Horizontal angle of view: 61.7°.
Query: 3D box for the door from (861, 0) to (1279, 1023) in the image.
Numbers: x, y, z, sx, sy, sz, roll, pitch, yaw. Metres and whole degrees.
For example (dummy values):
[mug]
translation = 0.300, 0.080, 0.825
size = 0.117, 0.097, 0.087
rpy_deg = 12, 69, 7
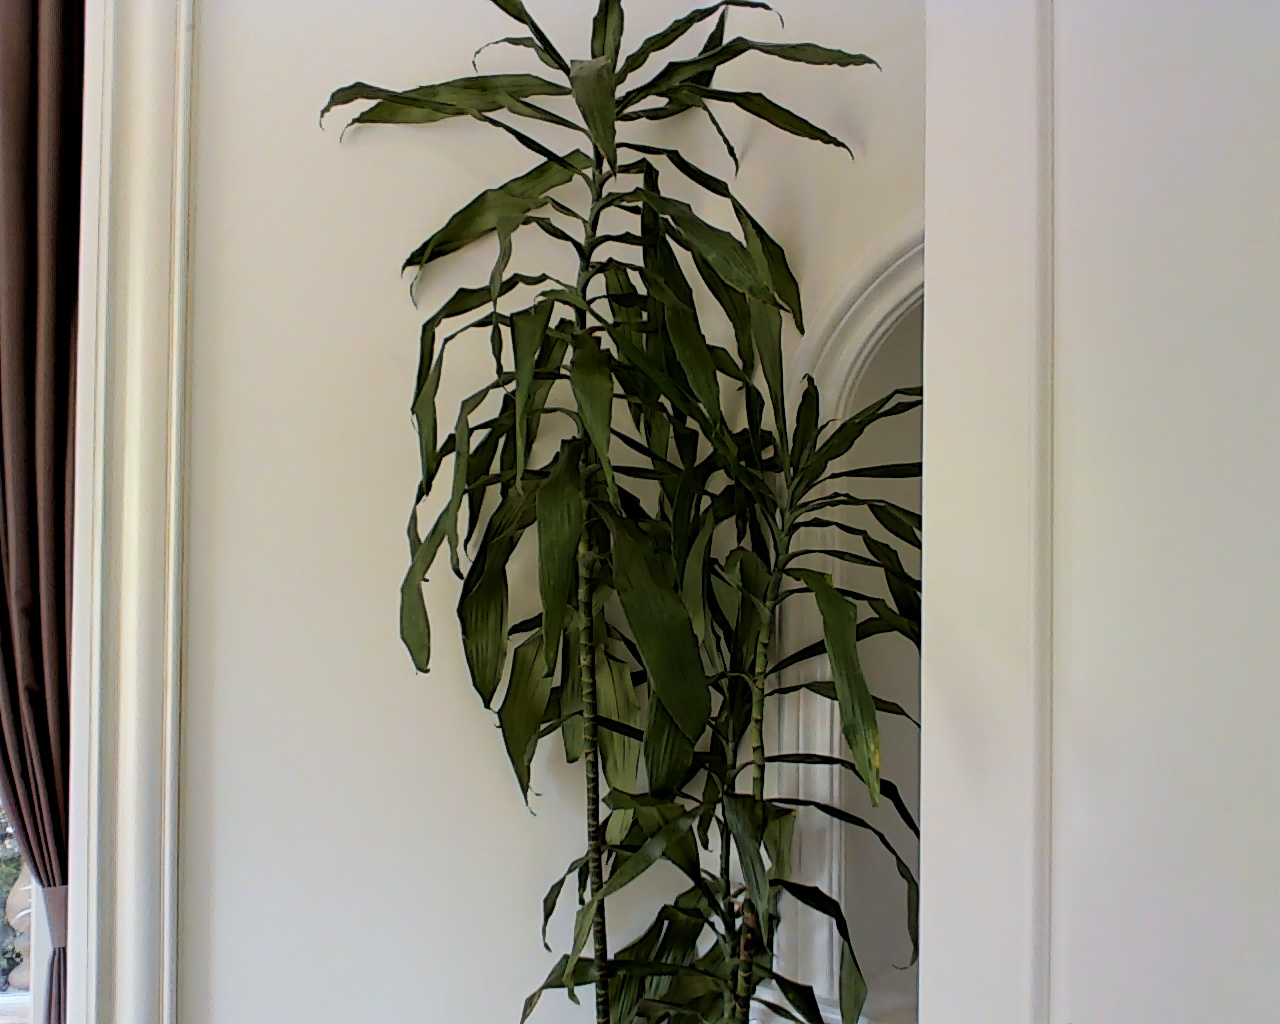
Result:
[door]
translation = 0.660, 0.090, 1.100
size = 0.960, 3.081, 0.040
rpy_deg = 0, -1, 43
